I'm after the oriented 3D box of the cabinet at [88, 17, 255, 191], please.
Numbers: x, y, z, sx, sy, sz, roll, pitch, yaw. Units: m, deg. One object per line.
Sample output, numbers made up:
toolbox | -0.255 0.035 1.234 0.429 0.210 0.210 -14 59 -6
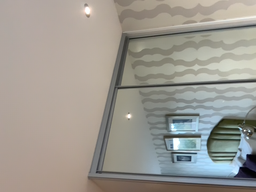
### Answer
cabinet | 1.040 0.100 1.620 0.690 2.290 1.400 71 -158 -49
